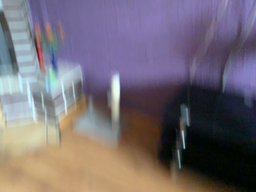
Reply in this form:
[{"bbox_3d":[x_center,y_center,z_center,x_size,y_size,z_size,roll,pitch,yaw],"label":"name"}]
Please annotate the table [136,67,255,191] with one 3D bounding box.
[{"bbox_3d":[0.740,0.330,1.220,1.250,0.580,0.520,16,35,21],"label":"table"}]
